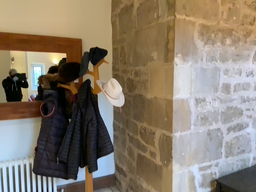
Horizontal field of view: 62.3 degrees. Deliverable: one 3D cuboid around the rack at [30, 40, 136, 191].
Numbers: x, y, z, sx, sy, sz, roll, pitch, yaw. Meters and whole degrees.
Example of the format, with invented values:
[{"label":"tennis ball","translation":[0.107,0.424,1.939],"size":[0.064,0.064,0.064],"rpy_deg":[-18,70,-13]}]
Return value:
[{"label":"rack","translation":[-0.520,0.450,2.340],"size":[0.950,1.920,0.730],"rpy_deg":[-2,7,-25]}]
